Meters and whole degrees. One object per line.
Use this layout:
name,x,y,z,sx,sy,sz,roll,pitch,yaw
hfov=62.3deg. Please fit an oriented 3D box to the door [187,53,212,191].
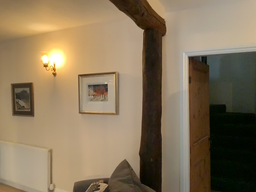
door,0.860,0.500,2.500,0.070,1.870,0.810,1,1,32

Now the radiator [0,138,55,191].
radiator,-1.580,1.050,3.100,1.330,0.730,0.070,1,1,27
